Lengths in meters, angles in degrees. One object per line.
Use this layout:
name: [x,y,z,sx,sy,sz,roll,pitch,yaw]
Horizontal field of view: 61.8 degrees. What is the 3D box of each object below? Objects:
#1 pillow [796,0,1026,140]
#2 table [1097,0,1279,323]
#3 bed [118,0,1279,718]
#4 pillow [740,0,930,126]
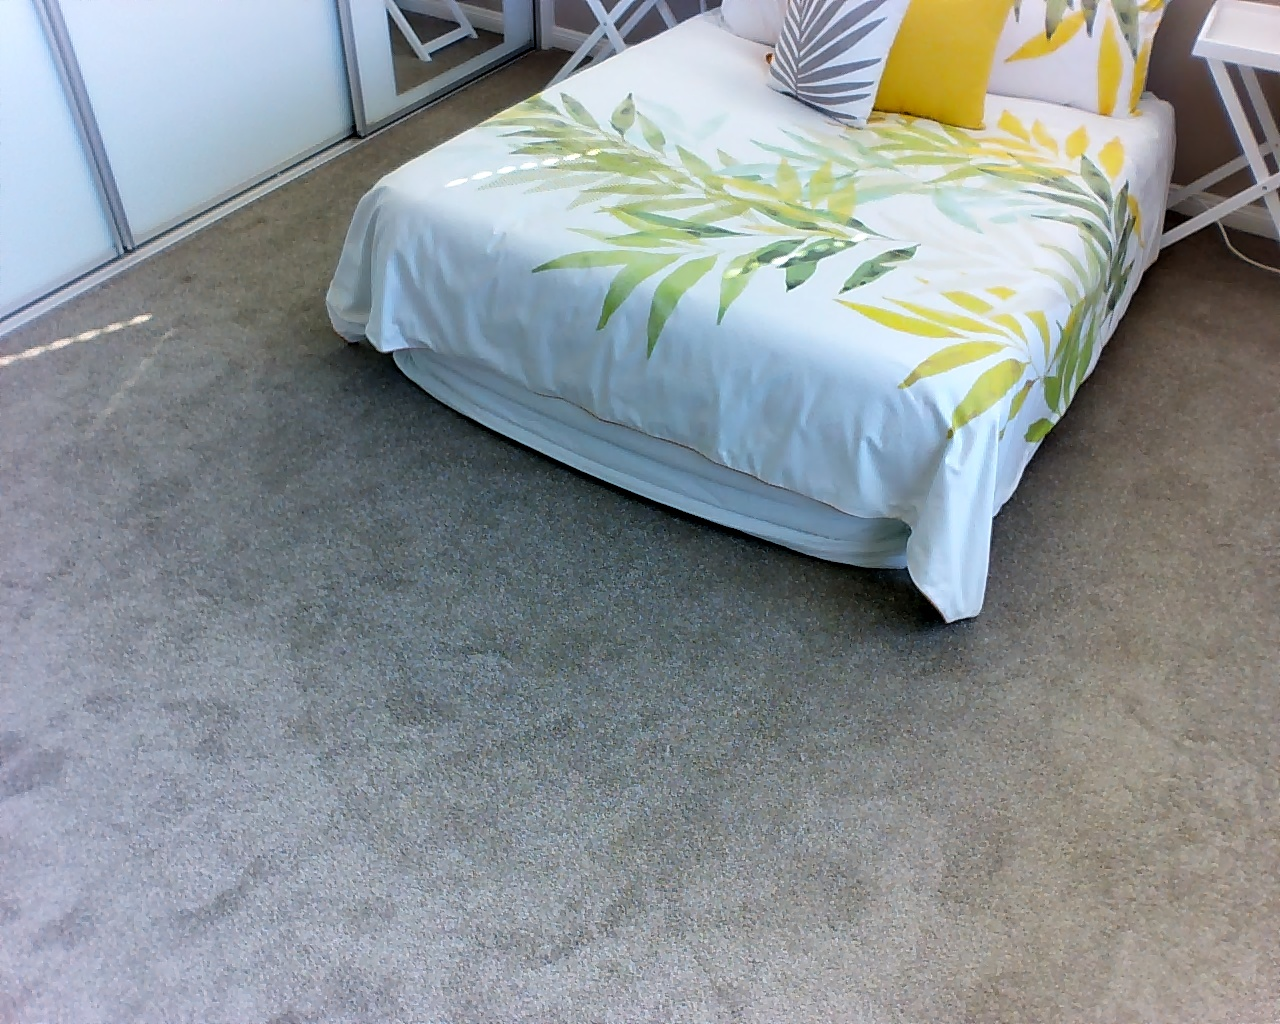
pillow: [0.710,-1.230,2.800,0.520,0.430,0.240,11,42,29]
table: [1.730,-0.950,2.880,0.670,0.660,0.500,22,46,19]
bed: [0.370,-0.900,2.650,1.940,0.790,2.140,24,47,21]
pillow: [0.500,-1.260,2.790,0.200,0.390,0.460,-31,38,-24]
